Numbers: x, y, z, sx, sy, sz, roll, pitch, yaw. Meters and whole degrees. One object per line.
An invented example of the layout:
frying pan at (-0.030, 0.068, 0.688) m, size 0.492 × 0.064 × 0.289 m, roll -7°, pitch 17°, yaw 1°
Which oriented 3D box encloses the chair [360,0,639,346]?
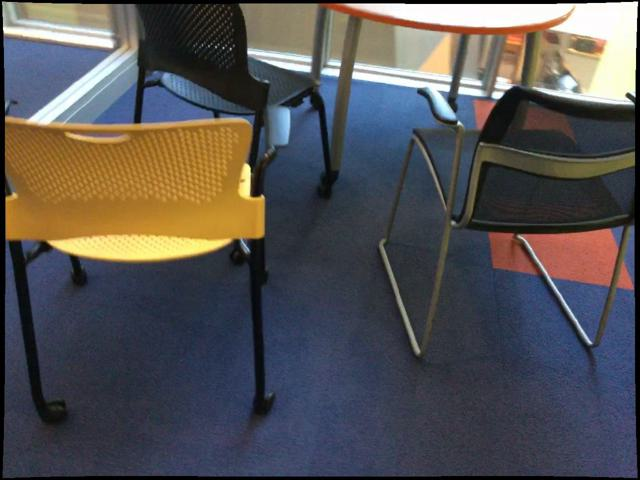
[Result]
chair at (0.519, -0.200, 1.540) m, size 0.649 × 0.690 × 0.620 m, roll -1°, pitch 39°, yaw -8°

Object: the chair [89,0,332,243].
chair at (-0.310, -0.490, 1.780) m, size 0.490 × 0.750 × 0.470 m, roll 22°, pitch 42°, yaw 20°

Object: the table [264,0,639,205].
table at (0.390, -0.751, 2.330) m, size 1.119 × 0.680 × 1.070 m, roll -3°, pitch 39°, yaw -10°
